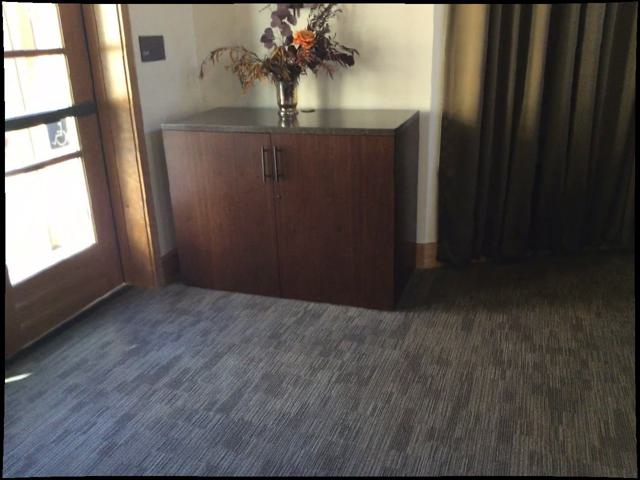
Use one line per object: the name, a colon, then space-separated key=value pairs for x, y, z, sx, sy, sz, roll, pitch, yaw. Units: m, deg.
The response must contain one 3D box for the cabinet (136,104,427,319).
cabinet: x=-0.180 y=-0.210 z=3.100 sx=1.369 sy=0.921 sz=0.580 roll=6 pitch=19 yaw=16
